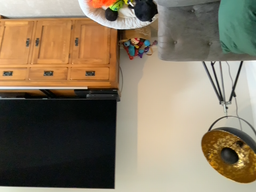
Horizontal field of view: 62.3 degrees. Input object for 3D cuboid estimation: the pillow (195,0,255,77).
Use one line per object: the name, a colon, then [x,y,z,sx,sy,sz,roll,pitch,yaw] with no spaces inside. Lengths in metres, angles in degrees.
pillow: [0.620,-0.420,1.340,0.250,0.440,0.520,-1,164,6]
